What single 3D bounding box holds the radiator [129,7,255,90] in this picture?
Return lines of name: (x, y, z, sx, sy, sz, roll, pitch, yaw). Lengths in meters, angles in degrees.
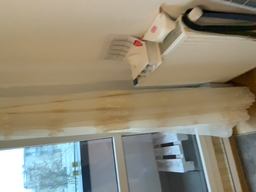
radiator: (0.620, -0.260, 1.490, 0.720, 1.040, 0.200, 140, 124, -66)
